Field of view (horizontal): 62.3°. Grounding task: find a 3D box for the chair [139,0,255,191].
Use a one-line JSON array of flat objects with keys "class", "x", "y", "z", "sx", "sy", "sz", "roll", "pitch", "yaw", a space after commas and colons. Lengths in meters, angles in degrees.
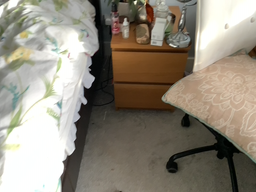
[{"class": "chair", "x": 0.530, "y": -0.020, "z": 0.880, "sx": 0.640, "sy": 1.010, "sz": 0.640, "roll": -32, "pitch": 54, "yaw": -29}]
